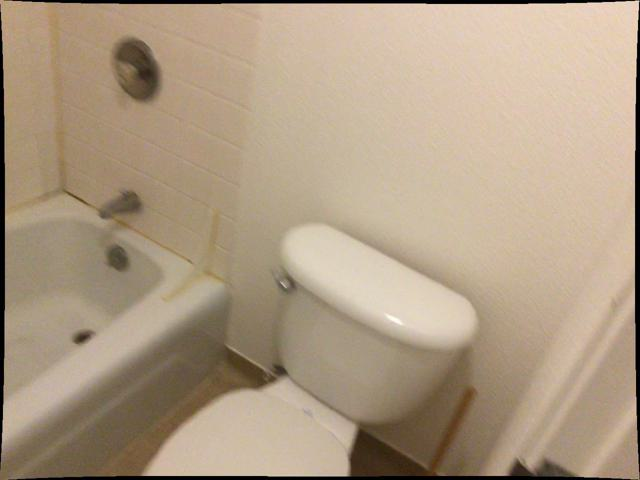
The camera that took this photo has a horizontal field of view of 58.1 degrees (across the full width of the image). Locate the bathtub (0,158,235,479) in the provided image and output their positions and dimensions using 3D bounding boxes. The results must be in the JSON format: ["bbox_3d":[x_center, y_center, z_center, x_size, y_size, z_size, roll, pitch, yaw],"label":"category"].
[{"bbox_3d":[-0.928,0.351,1.420,0.739,0.480,1.290,27,37,20],"label":"bathtub"}]
